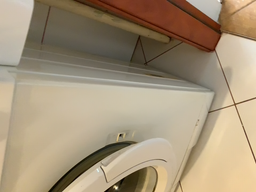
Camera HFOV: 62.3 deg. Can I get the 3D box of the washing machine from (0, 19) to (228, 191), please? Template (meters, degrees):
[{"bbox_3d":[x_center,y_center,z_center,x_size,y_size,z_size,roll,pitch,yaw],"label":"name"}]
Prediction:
[{"bbox_3d":[-0.200,0.160,0.660,0.500,0.840,0.600,33,110,37],"label":"washing machine"}]
